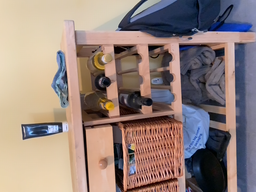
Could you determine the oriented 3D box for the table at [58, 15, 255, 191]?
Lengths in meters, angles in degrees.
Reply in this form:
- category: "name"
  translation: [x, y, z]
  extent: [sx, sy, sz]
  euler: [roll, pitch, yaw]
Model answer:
- category: "table"
  translation: [0.130, 0.160, 1.100]
  extent: [0.550, 0.840, 0.940]
  euler: [-170, 75, -70]
